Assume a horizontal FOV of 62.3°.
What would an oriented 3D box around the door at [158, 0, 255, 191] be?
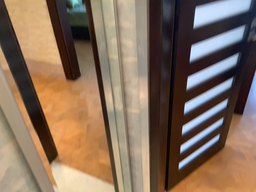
[{"bbox_3d":[0.490,-0.340,1.110,0.780,2.130,0.100,-28,41,-32],"label":"door"}]
